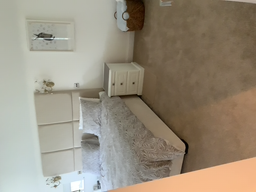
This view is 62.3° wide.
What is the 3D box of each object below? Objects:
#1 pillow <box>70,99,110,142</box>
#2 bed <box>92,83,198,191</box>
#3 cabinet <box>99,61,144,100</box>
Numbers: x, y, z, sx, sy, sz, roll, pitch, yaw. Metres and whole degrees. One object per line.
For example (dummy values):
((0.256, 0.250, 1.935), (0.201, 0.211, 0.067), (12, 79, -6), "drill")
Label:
((-0.680, 0.450, 3.850), (0.220, 0.420, 0.650), (35, 156, 54), "pillow")
((-0.010, 1.110, 3.530), (2.160, 0.740, 2.000), (-132, 42, -59), "bed")
((-0.140, -0.300, 3.750), (0.590, 0.610, 0.470), (-129, 39, -57), "cabinet")
